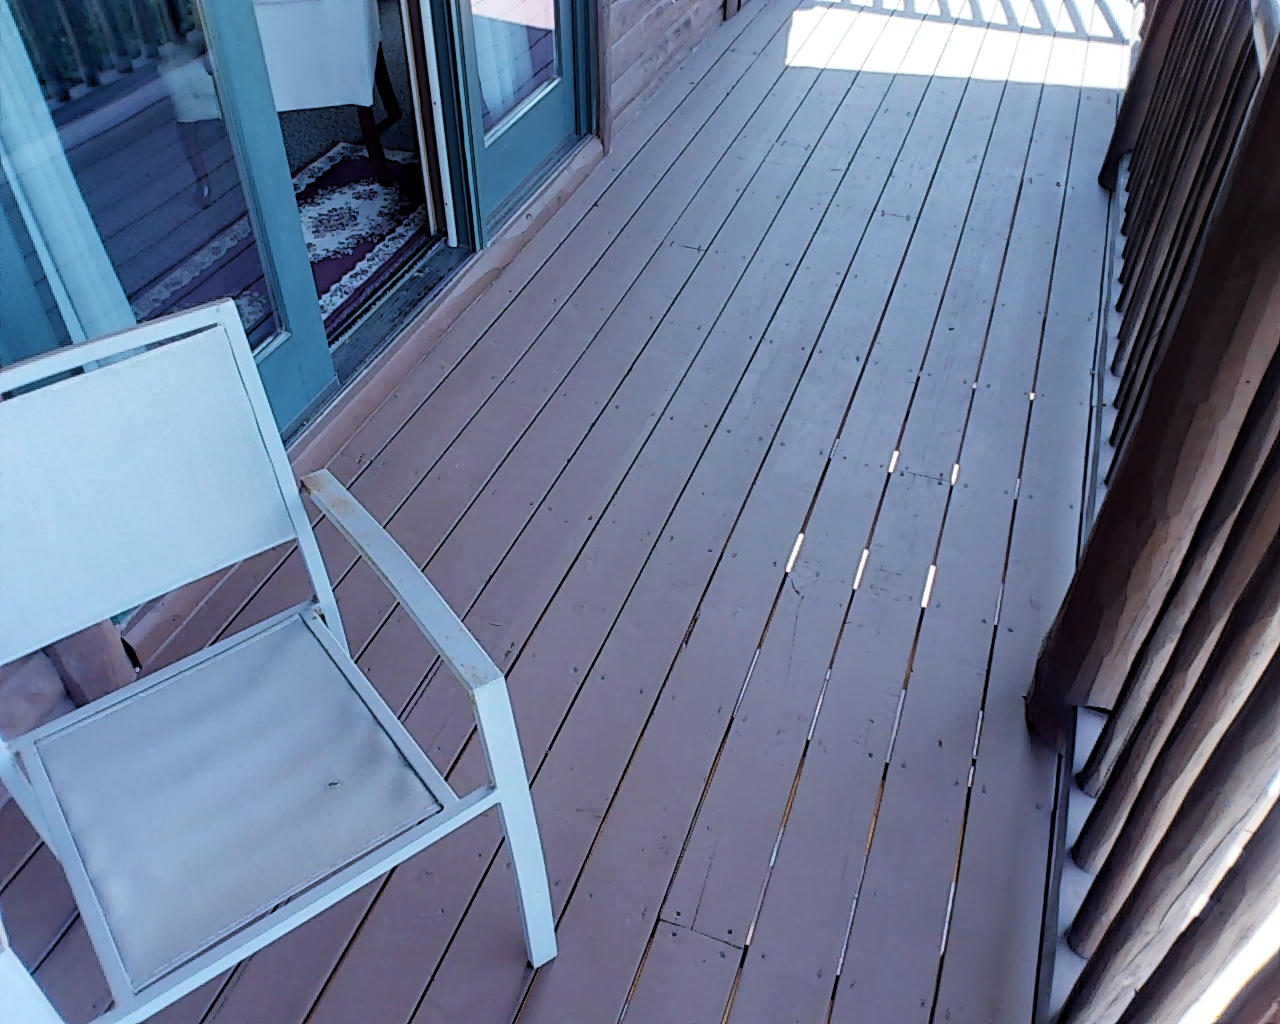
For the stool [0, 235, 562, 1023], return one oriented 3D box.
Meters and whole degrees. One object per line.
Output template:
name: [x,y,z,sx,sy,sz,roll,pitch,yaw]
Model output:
stool: [-0.580,0.280,1.380,0.640,0.890,0.700,-28,50,-28]
